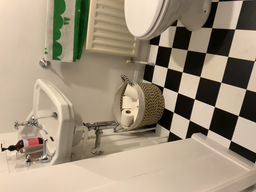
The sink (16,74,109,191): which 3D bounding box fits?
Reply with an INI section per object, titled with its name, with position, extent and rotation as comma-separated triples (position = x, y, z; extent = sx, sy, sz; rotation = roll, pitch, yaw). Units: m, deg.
[sink]
position = -0.390, 0.140, 1.130
extent = 0.560, 0.290, 0.400
rotation = 27, 113, 52
